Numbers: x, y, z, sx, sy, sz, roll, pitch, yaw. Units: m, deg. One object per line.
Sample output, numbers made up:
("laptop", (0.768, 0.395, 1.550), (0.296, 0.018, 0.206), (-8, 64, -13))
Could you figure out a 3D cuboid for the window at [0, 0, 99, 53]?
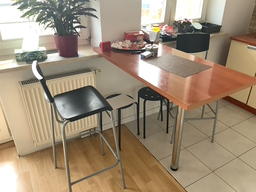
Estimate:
("window", (-0.630, -1.060, 1.440), (0.800, 1.420, 0.140), (-16, 33, -28))
